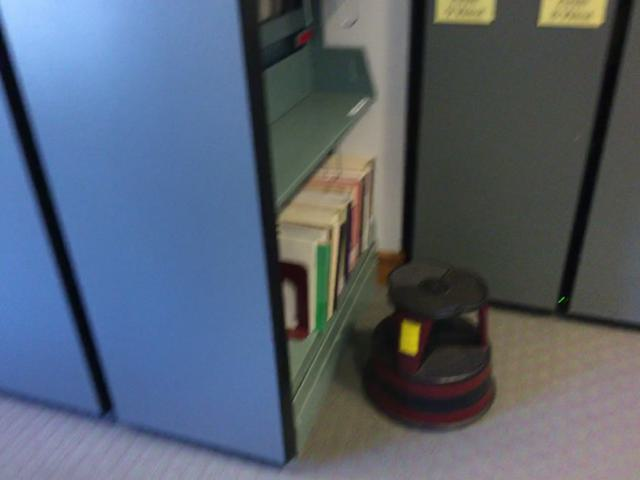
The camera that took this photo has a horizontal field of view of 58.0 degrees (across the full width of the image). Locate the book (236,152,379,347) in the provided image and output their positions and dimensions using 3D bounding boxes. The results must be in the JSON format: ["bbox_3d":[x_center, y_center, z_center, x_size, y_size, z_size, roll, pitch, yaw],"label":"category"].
[{"bbox_3d":[0.000,-0.010,1.860,0.230,0.340,0.670,3,28,18],"label":"book"}]
